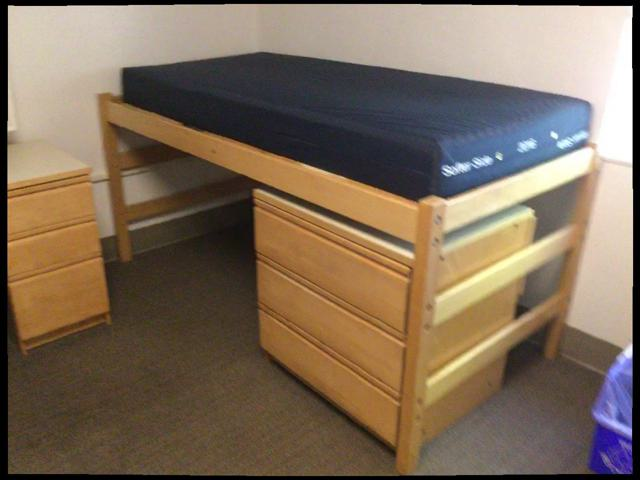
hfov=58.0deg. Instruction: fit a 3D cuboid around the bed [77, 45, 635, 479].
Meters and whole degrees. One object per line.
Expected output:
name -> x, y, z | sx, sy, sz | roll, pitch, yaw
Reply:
bed -> -0.050, -0.190, 2.670 | 1.149, 1.082, 2.209 | -20, 32, -36
